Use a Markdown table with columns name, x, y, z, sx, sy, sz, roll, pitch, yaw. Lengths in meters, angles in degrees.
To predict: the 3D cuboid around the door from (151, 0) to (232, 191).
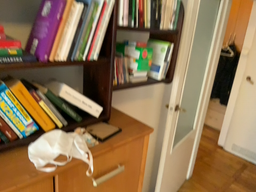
| name | x | y | z | sx | sy | sz | roll | pitch | yaw |
| --- | --- | --- | --- | --- | --- | --- | --- | --- | --- |
| door | 0.530 | 0.140 | 1.880 | 0.100 | 1.850 | 0.690 | 21 | 24 | 35 |
